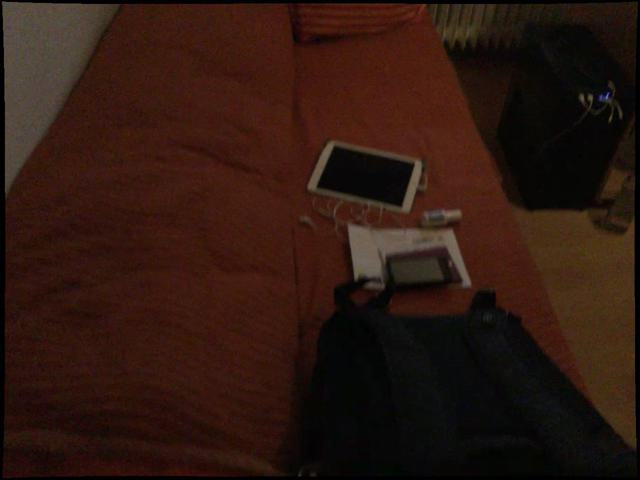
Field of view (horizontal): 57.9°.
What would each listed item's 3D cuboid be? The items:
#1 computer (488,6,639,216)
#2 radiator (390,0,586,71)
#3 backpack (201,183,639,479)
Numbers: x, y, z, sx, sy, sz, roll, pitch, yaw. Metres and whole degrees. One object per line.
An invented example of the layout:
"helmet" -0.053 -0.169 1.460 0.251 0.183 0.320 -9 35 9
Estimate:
"computer" 0.819 -0.440 1.960 0.290 0.470 0.520 -4 46 0
"radiator" 0.709 -1.101 2.440 0.769 0.660 0.250 -4 46 0
"backpack" 0.140 0.220 0.780 0.509 0.320 0.490 -3 46 0
